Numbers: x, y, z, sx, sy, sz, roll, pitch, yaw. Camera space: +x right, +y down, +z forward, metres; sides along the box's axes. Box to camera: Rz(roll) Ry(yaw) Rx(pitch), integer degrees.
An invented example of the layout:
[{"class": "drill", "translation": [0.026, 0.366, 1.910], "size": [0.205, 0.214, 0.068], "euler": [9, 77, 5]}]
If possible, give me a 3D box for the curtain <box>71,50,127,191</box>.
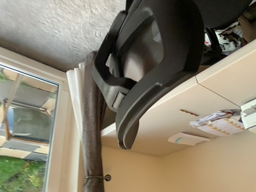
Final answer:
[{"class": "curtain", "translation": [-0.180, 0.600, 1.360], "size": [0.320, 2.110, 0.170], "euler": [23, 138, -38]}]
